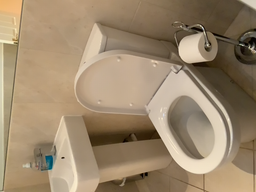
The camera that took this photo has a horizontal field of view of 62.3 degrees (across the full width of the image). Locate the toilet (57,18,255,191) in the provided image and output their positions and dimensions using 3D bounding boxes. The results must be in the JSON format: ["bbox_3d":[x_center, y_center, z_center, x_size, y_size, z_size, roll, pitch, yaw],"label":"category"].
[{"bbox_3d":[0.210,0.050,1.030,0.650,0.890,0.390,59,134,39],"label":"toilet"}]

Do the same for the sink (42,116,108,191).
[{"bbox_3d":[-0.360,0.470,1.300,0.430,0.170,0.540,59,134,39],"label":"sink"}]
